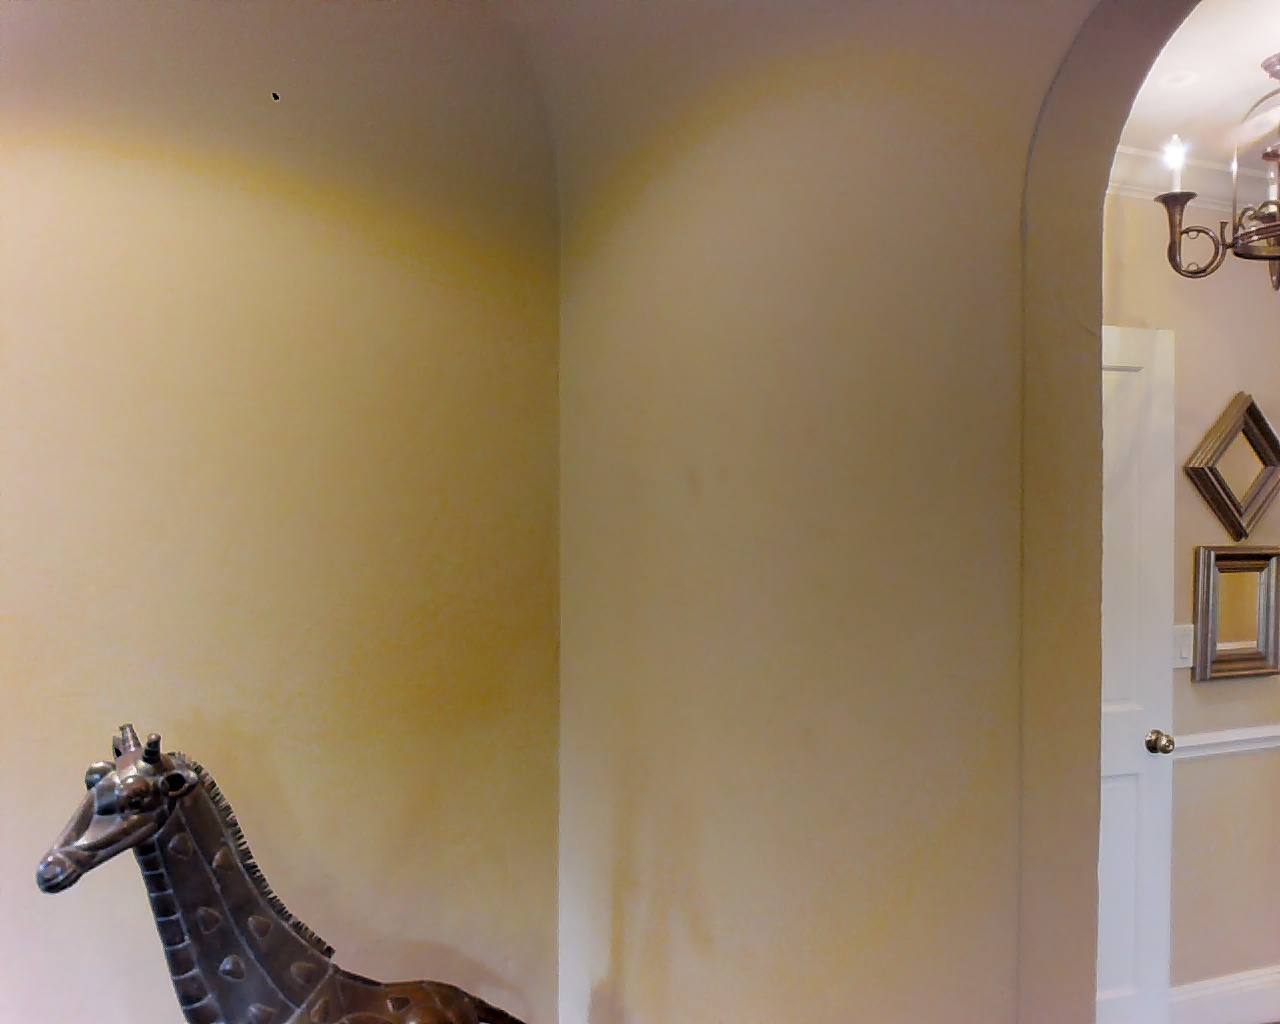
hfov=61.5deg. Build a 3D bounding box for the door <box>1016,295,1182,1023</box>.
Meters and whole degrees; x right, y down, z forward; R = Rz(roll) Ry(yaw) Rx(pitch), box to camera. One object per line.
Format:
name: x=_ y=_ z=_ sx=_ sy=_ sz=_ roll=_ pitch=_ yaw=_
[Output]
door: x=1.240 y=0.480 z=2.900 sx=0.480 sy=2.090 sz=0.040 roll=0 pitch=1 yaw=-17
